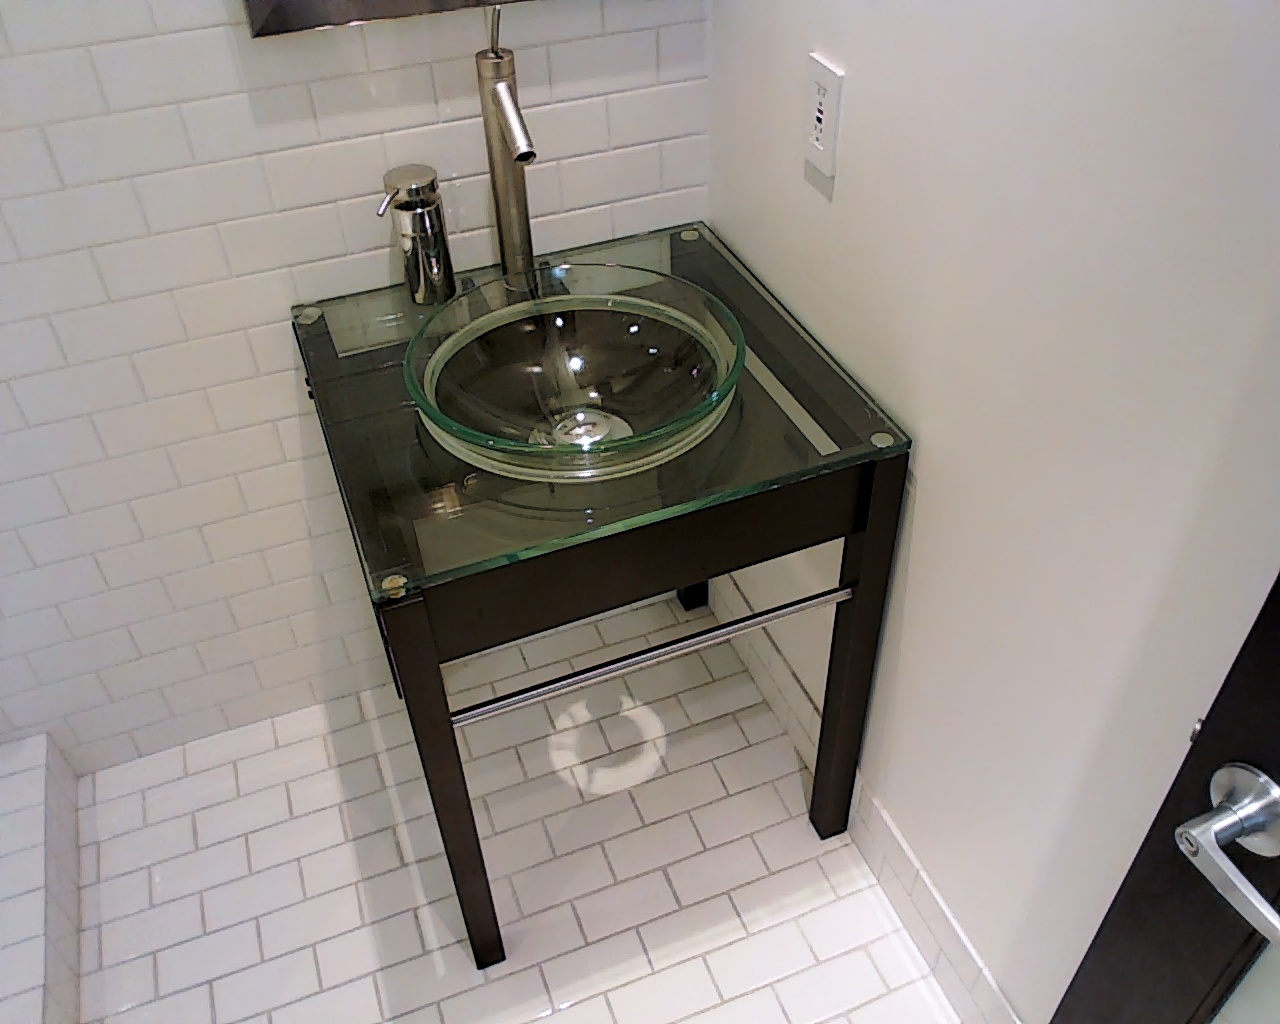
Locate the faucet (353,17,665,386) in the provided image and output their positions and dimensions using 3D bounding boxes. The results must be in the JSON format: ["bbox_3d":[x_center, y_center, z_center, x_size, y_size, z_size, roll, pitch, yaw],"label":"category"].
[{"bbox_3d":[-0.160,-0.410,1.430,0.330,0.370,0.190,-17,43,-15],"label":"faucet"}]
